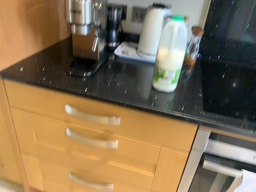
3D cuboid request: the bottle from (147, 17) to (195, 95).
[{"bbox_3d":[0.160,-0.150,0.810,0.120,0.260,0.090,12,32,9],"label":"bottle"}]
